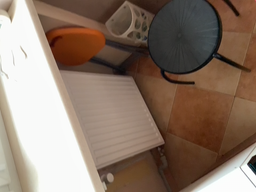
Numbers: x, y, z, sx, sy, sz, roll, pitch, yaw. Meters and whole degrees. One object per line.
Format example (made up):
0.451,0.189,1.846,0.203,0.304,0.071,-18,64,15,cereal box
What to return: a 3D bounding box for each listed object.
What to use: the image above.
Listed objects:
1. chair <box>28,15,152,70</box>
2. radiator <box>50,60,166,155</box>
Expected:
-0.170,-0.270,1.250,0.290,0.700,0.080,-25,77,37,chair
-0.070,0.040,1.220,0.140,0.640,0.410,-29,75,36,radiator
